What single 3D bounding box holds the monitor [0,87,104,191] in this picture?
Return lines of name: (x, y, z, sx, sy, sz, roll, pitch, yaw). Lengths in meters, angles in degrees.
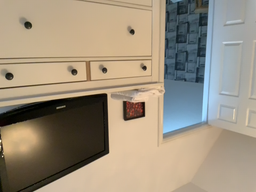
monitor: (-0.450, 0.260, 1.370, 0.030, 0.550, 0.740, 9, -165, 40)
